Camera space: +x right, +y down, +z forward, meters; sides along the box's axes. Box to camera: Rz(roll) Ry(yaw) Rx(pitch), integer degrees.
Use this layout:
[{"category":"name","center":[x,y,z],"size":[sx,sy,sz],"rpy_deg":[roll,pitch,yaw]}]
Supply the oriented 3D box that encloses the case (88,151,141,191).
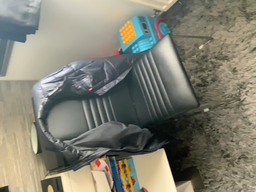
[{"category":"case","center":[-0.100,0.560,1.440],"size":[0.250,0.190,0.280],"rpy_deg":[-33,69,46]}]

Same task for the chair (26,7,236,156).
[{"category":"chair","center":[0.050,-0.040,1.210],"size":[0.560,0.990,0.420],"rpy_deg":[-35,68,45]}]
